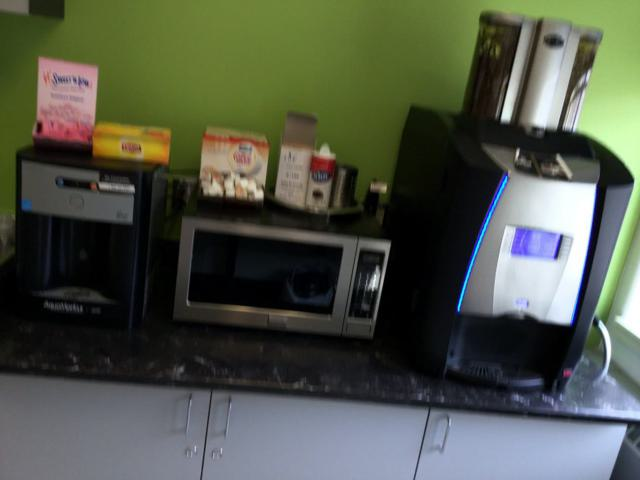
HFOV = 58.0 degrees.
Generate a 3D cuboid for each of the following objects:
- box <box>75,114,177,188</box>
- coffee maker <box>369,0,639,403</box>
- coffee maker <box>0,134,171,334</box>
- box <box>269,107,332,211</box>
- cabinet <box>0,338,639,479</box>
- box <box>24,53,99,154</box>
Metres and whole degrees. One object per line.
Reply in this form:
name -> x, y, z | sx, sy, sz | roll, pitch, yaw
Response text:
box -> -0.530, -0.250, 1.600 | 0.230, 0.150, 0.170 | 8, 13, -11
coffee maker -> 0.510, -0.100, 1.570 | 0.510, 0.980, 0.310 | 8, 13, -11
coffee maker -> -0.640, -0.030, 1.620 | 0.350, 0.450, 0.330 | 8, 13, -11
box -> -0.070, -0.270, 1.880 | 0.130, 0.290, 0.240 | 8, 13, -11
cabinet -> -0.050, 0.770, 1.640 | 1.830, 0.800, 0.140 | 8, 13, -11
box -> -0.680, -0.360, 1.530 | 0.130, 0.230, 0.150 | 8, 13, -11
